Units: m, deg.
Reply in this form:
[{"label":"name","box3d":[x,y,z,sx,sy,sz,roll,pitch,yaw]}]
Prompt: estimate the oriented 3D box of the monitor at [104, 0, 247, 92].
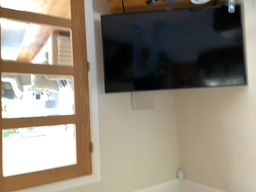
[{"label":"monitor","box3d":[0.400,-0.460,1.920,1.210,0.780,0.080,-3,177,4]}]
